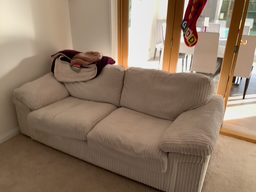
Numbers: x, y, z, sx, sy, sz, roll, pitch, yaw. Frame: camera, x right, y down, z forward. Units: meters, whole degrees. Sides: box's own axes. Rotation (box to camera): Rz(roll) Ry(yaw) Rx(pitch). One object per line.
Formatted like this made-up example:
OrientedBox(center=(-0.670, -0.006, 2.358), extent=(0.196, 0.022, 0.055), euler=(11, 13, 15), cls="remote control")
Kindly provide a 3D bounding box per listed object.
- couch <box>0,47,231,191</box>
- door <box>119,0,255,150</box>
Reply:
OrientedBox(center=(-0.170, 0.140, 2.290), extent=(2.100, 0.890, 1.060), euler=(14, 27, 24), cls="couch")
OrientedBox(center=(0.850, -0.500, 2.470), extent=(2.150, 2.070, 0.110), euler=(14, 27, 25), cls="door")
